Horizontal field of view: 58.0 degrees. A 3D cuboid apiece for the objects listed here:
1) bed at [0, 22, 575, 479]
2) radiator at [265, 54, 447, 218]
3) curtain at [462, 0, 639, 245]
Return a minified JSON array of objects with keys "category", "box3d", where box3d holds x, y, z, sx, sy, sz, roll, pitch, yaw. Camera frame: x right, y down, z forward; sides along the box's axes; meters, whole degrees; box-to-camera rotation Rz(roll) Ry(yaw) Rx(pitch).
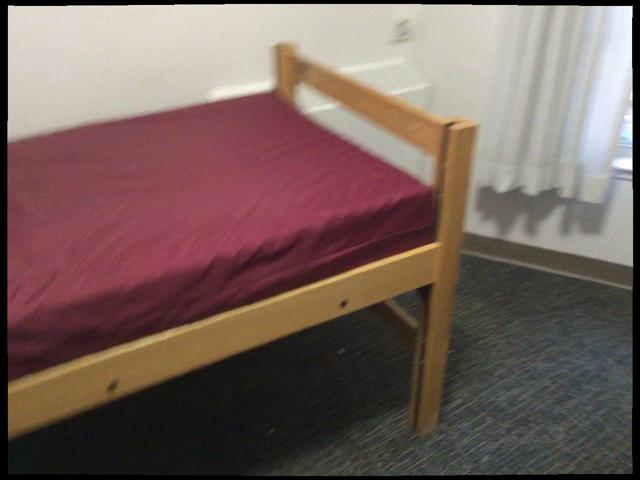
[{"category":"bed","box3d":[-0.769,0.190,1.500,2.537,0.961,1.150,-18,36,-26]},{"category":"radiator","box3d":[0.160,-0.451,2.420,0.729,0.501,0.210,-18,36,-26]},{"category":"curtain","box3d":[0.848,-0.621,1.970,0.559,1.122,0.500,7,33,12]}]
